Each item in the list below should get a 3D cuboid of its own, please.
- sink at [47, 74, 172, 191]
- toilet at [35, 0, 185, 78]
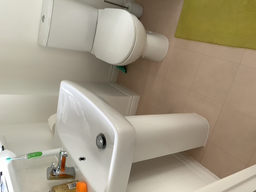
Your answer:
[{"bbox_3d":[-0.140,0.190,0.930,0.560,0.210,0.430,30,112,48],"label":"sink"},{"bbox_3d":[-0.150,-0.430,1.520,0.680,0.780,0.380,31,113,48],"label":"toilet"}]
